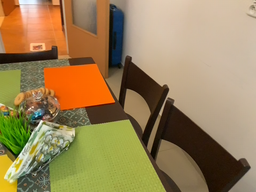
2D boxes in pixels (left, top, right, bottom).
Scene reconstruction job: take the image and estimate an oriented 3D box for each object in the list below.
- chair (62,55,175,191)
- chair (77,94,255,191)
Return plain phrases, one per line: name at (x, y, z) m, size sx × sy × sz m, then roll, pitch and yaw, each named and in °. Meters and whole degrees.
chair at (-0.100, 0.220, 1.250) m, size 0.420 × 0.760 × 0.440 m, roll -10°, pitch 37°, yaw -23°
chair at (0.070, 0.460, 0.930) m, size 0.450 × 0.770 × 0.420 m, roll -10°, pitch 37°, yaw -23°
